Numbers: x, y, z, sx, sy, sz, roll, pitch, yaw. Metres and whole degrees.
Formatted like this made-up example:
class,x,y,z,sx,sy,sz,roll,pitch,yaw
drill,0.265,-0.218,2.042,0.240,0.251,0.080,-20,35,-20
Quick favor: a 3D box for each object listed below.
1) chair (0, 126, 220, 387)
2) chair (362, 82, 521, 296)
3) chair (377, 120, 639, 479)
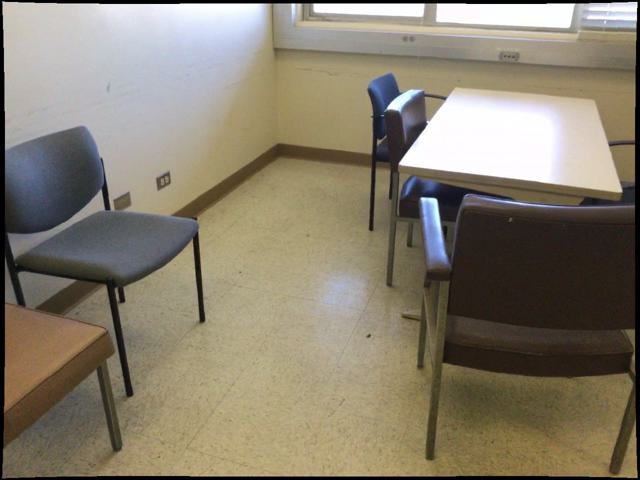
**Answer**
class,x,y,z,sx,sy,sz,roll,pitch,yaw
chair,-0.808,0.020,2.110,0.619,0.671,0.570,10,29,18
chair,0.539,-0.251,2.580,0.549,0.752,0.510,10,29,18
chair,0.569,0.170,1.710,0.708,0.862,0.640,5,28,9
